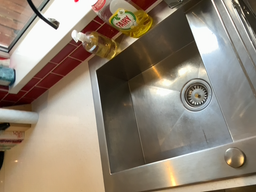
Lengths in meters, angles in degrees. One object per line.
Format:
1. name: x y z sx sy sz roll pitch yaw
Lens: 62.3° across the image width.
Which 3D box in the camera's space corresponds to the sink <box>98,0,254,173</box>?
1. sink: 0.120 -0.010 0.810 0.460 0.130 0.490 -28 63 34
